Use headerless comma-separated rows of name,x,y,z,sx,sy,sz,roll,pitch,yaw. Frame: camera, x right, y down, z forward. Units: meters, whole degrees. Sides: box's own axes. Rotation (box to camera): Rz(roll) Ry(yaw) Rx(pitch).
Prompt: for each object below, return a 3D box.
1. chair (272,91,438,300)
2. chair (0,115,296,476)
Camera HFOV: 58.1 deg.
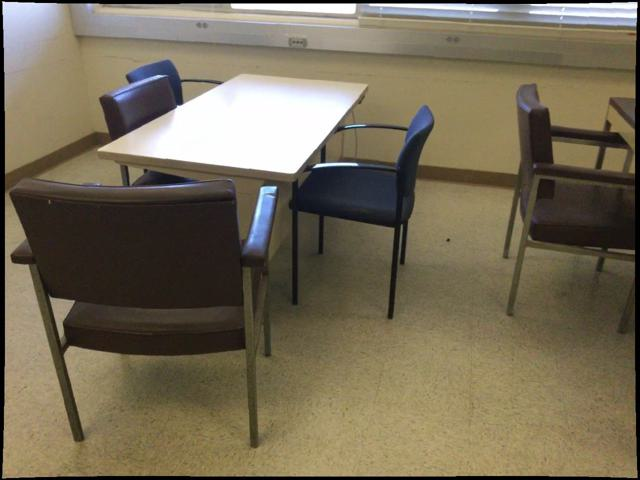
chair,0.160,-0.211,2.420,0.549,0.661,0.530,8,30,13
chair,-0.469,0.140,1.770,0.708,0.862,0.640,2,29,4
